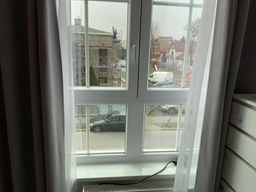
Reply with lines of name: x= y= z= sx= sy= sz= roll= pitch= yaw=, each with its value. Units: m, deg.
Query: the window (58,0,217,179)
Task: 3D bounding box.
window: x=0.050 y=-0.380 z=1.590 sx=1.090 sy=2.110 sz=0.140 roll=2 pitch=13 yaw=1
